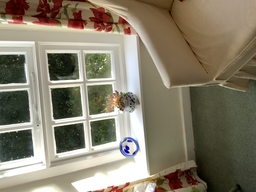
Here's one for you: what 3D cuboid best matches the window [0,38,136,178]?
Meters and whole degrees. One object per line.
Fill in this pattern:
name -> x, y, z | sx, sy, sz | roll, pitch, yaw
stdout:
window -> -0.590, 0.050, 1.490 | 0.280, 1.260, 0.830 | 1, 96, 64
